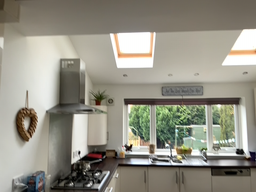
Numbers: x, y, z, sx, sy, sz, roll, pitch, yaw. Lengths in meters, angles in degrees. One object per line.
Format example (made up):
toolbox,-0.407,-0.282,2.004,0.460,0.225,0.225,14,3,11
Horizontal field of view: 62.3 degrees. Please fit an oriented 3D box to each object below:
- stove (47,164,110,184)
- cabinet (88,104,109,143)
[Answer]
stove,-0.560,0.950,2.620,0.560,0.040,0.730,0,-6,4
cabinet,-0.550,0.510,4.020,0.320,0.700,0.320,0,-6,4
